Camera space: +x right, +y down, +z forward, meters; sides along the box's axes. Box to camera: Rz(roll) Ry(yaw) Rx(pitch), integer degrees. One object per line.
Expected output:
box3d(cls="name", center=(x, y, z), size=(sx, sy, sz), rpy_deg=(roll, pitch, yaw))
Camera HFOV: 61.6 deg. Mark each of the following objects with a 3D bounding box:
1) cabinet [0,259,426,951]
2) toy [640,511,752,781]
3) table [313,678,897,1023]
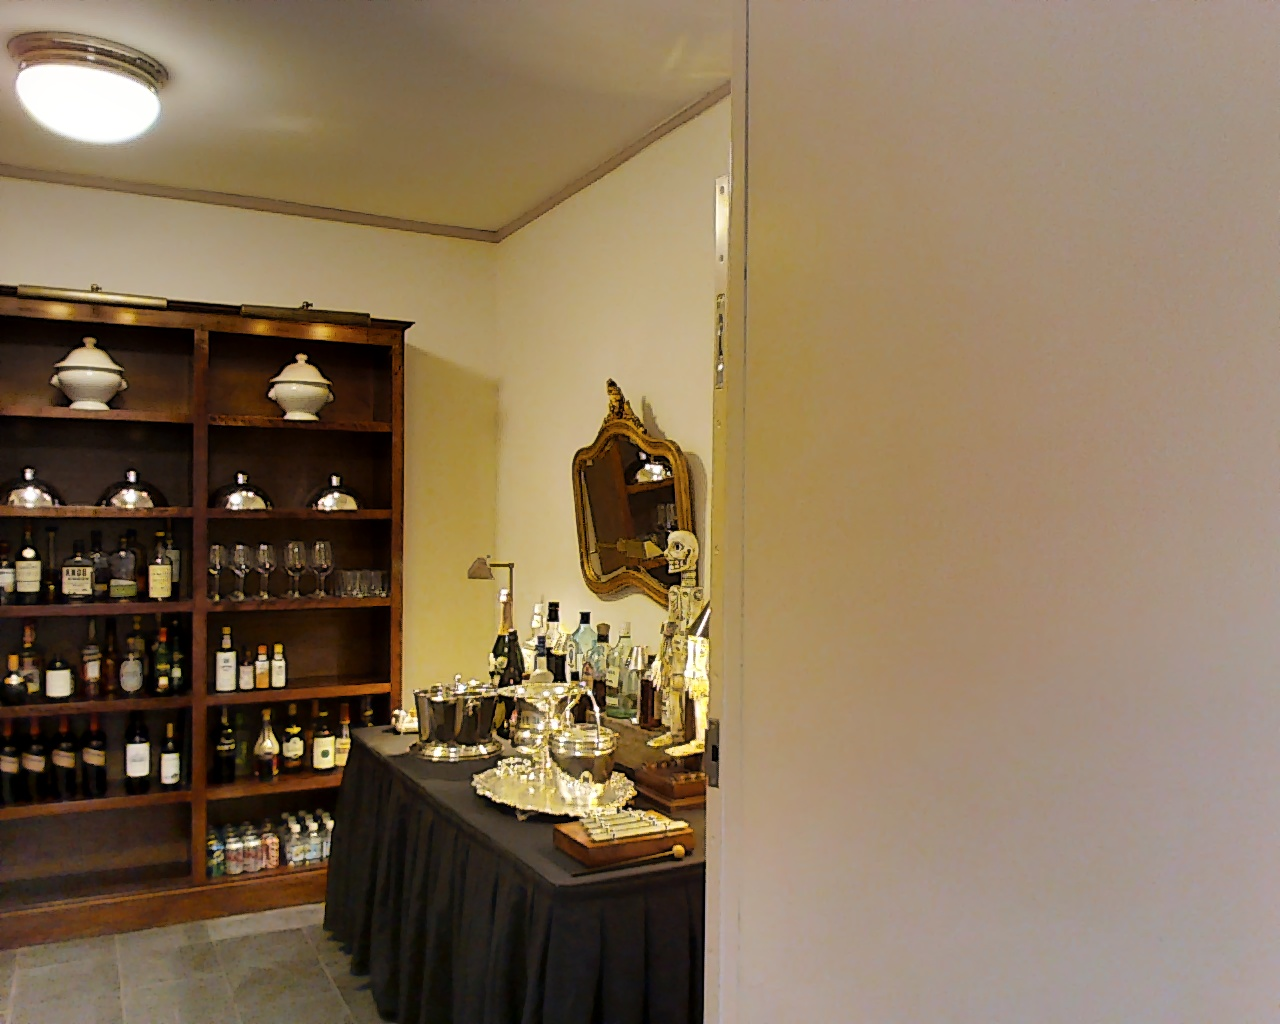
box3d(cls="cabinet", center=(-1.680, 0.320, 4.090), size=(1.630, 2.340, 0.370), rpy_deg=(1, 0, -28))
box3d(cls="toy", center=(0.150, 0.350, 2.950), size=(0.190, 0.700, 0.270), rpy_deg=(1, 0, -28))
box3d(cls="table", center=(-0.300, 1.090, 3.190), size=(0.910, 0.840, 2.090), rpy_deg=(1, 0, -28))
